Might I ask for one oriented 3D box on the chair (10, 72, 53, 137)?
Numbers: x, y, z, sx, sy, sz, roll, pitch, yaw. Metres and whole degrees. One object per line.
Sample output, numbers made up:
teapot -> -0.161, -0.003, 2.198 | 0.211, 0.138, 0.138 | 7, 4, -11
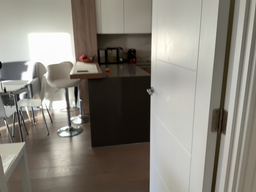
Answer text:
chair -> -1.450, 0.110, 3.270 | 0.470, 0.880, 0.390 | -5, 16, -16
